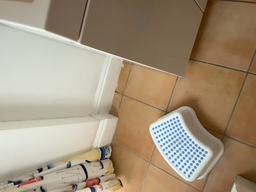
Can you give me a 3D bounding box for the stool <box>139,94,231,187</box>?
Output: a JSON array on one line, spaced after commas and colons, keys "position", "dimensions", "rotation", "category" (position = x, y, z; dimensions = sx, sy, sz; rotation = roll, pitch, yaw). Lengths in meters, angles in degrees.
[{"position": [0.260, 0.200, 1.010], "dimensions": [0.240, 0.130, 0.340], "rotation": [-45, 67, 22], "category": "stool"}]
